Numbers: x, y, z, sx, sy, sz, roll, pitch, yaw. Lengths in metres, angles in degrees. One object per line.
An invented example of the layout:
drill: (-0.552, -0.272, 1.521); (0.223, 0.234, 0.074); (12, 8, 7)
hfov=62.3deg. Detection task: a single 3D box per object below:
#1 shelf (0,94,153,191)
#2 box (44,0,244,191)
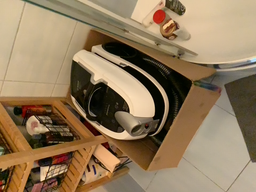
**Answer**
shelf: (-0.460, 0.250, 0.930); (0.380, 1.380, 0.370); (37, 110, 31)
box: (0.070, -0.050, 1.090); (0.690, 0.560, 0.510); (37, 110, 31)
